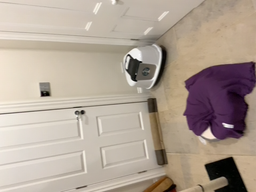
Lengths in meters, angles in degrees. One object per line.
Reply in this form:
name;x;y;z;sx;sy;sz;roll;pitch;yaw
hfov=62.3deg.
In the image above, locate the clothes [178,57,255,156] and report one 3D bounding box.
clothes;0.740;0.040;1.900;0.680;0.100;0.730;25;116;60
